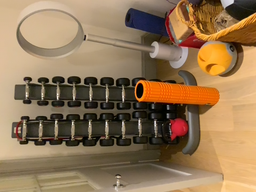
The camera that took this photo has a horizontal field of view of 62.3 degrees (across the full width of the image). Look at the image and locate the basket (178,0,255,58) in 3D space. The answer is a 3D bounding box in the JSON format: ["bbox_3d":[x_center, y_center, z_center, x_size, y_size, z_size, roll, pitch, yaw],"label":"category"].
[{"bbox_3d":[0.670,-0.590,1.200,0.610,0.460,0.510,-20,70,61],"label":"basket"}]

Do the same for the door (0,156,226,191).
[{"bbox_3d":[-0.360,0.570,1.450,0.770,2.070,0.050,-16,73,61],"label":"door"}]
